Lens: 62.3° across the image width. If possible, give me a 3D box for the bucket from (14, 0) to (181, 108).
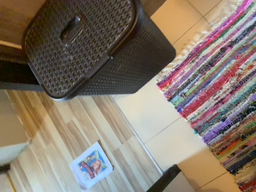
[{"bbox_3d":[-0.080,-0.200,0.940,0.410,0.550,0.310,-38,74,20],"label":"bucket"}]
